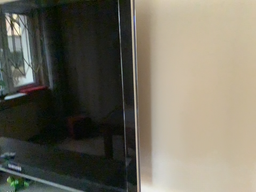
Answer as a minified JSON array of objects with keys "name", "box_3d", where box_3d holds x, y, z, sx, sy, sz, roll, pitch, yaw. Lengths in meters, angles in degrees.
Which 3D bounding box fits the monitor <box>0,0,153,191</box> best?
[{"name":"monitor","box_3d":[-0.400,0.020,0.720,0.990,0.640,0.070,4,14,24]}]
